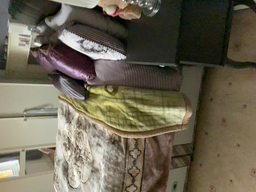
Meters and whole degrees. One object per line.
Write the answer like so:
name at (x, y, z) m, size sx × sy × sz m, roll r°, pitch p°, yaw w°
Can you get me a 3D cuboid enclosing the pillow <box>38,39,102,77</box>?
pillow at (-0.440, -0.290, 1.580) m, size 0.370 × 0.320 × 0.150 m, roll 16°, pitch 130°, yaw 53°
